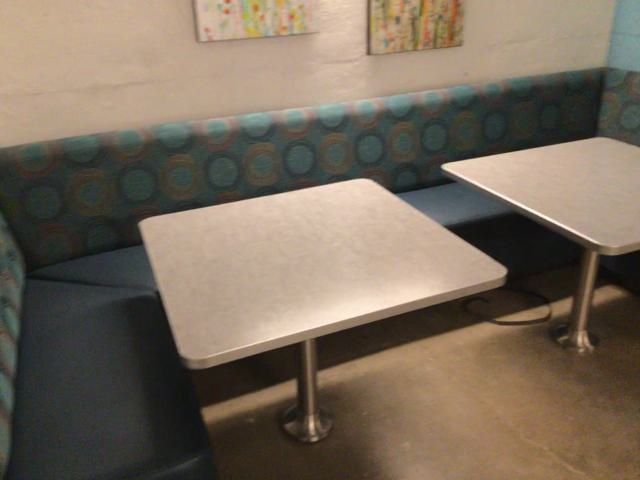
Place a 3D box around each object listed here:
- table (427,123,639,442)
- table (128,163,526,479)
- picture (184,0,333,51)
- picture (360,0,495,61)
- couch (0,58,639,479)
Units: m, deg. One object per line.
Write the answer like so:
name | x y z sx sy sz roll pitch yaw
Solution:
table | 1.060 0.070 2.280 0.900 0.750 0.900 -12 27 -18
table | -0.050 0.310 1.930 0.920 0.750 0.960 -12 28 -18
picture | -0.260 -1.110 2.350 0.610 0.590 0.060 -13 24 -18
picture | 0.490 -1.280 2.590 0.660 0.840 0.090 -13 24 -18
couch | 0.390 0.040 2.250 3.250 0.930 1.420 -12 28 -18
